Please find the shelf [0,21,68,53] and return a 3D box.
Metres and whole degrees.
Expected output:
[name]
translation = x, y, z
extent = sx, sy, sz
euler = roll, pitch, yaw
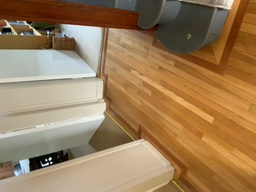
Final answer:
[shelf]
translation = -1.720, -1.000, 3.550
extent = 1.110, 1.040, 0.260
euler = 37, 125, 46
